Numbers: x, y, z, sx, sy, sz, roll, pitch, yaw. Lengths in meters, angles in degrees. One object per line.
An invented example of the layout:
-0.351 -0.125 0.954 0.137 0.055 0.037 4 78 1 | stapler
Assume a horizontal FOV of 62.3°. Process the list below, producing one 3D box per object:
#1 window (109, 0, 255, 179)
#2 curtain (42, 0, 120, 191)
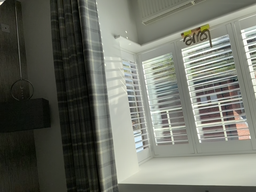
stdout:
0.800 -0.150 2.060 1.910 1.750 0.350 -12 173 31 | window
-0.420 -0.080 1.800 0.430 2.190 0.170 -12 174 28 | curtain
